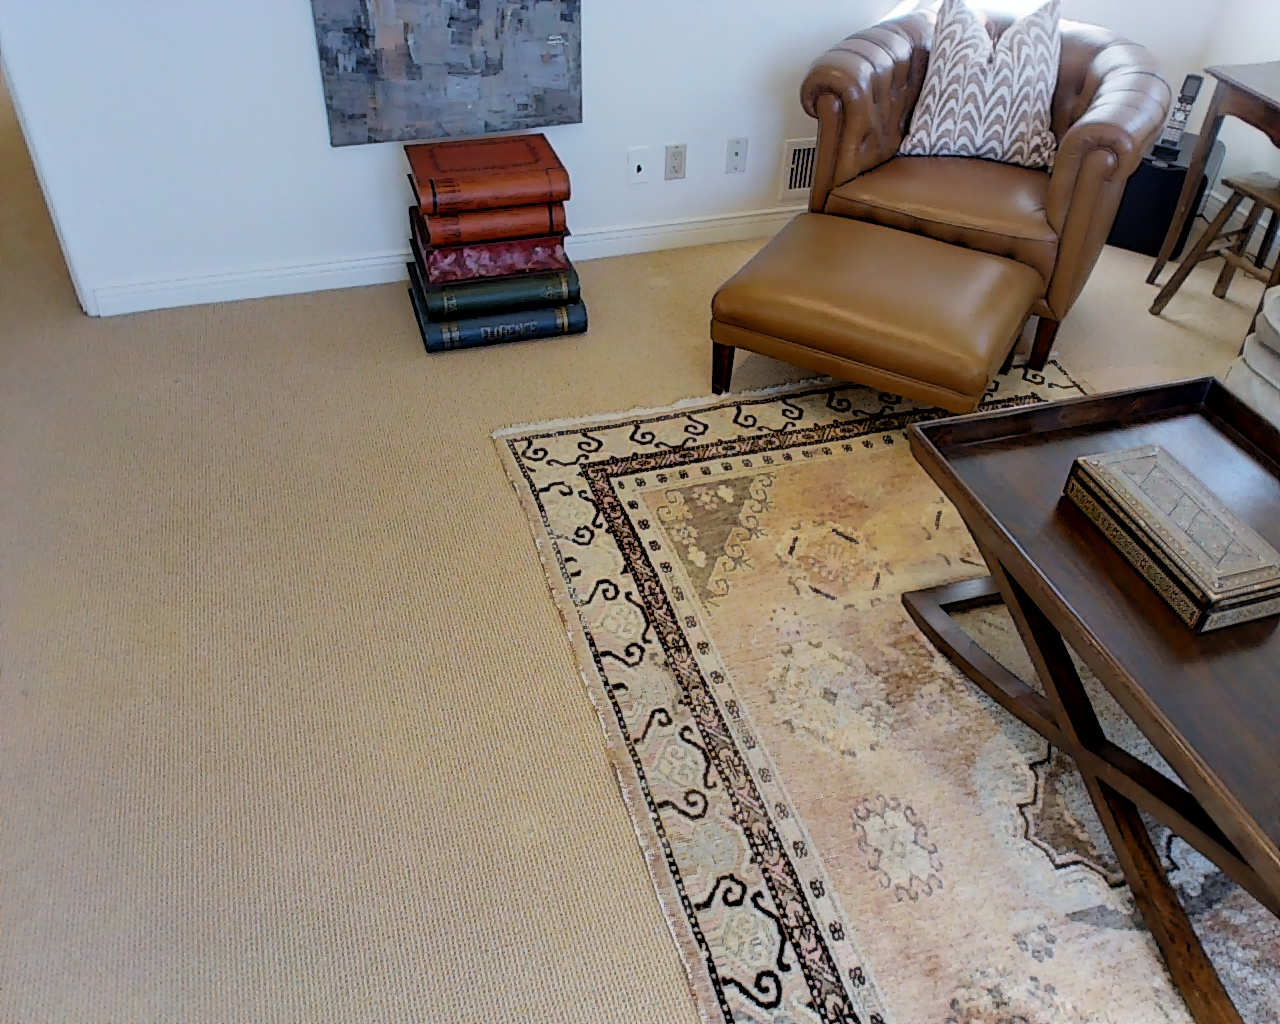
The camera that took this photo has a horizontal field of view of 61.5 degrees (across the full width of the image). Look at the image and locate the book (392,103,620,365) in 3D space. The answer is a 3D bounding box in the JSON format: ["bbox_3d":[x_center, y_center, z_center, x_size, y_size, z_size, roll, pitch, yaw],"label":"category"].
[{"bbox_3d":[-0.380,-0.800,3.070,0.540,0.530,0.470,-9,41,-12],"label":"book"}]
